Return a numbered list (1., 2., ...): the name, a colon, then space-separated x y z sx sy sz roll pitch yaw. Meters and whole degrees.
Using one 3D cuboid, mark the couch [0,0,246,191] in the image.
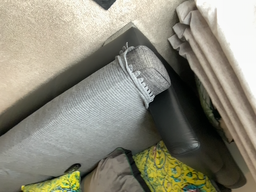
1. couch: -0.540 0.560 1.580 2.260 0.670 1.130 -27 140 24
